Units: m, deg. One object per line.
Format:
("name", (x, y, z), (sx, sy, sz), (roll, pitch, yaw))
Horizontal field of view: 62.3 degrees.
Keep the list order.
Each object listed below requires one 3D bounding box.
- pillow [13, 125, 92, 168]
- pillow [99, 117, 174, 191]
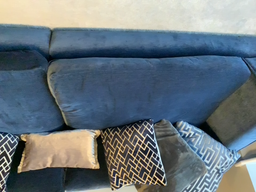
("pillow", (-0.480, 0.340, 1.440), (0.460, 0.220, 0.200), (1, 148, -10))
("pillow", (0.040, 0.370, 1.350), (0.350, 0.360, 0.150), (-24, 131, -2))
